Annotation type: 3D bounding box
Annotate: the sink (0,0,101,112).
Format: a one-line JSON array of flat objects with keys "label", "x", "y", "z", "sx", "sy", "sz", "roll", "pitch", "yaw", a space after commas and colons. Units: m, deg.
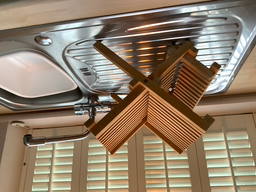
[{"label": "sink", "x": -0.380, "y": -0.110, "z": 0.800, "sx": 0.440, "sy": 0.170, "sz": 0.480, "roll": -5, "pitch": 157, "yaw": 8}]
